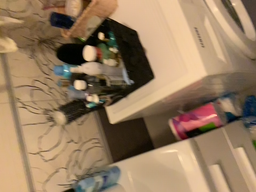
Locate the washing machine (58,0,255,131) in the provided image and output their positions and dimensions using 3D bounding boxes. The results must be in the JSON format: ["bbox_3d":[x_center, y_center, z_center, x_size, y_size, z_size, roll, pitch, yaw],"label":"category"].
[{"bbox_3d":[0.240,-0.280,1.090,0.610,0.840,0.630,-30,73,40],"label":"washing machine"}]
